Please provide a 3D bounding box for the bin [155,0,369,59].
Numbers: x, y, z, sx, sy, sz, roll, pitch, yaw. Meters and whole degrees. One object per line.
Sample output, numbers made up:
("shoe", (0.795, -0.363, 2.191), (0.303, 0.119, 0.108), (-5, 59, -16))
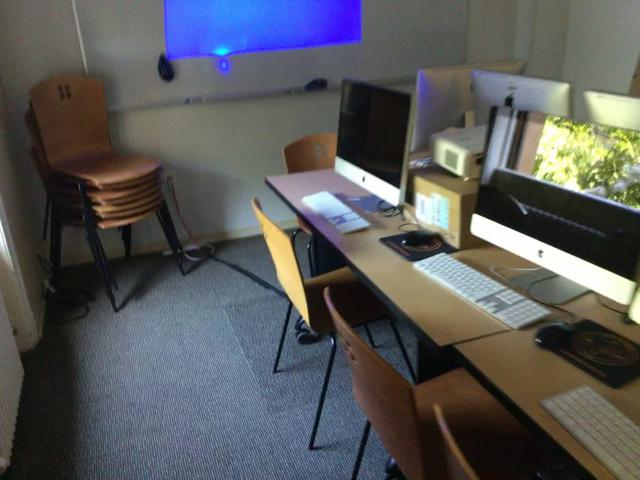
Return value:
("bin", (-0.310, -1.450, 3.220), (1.200, 0.730, 0.150), (-11, 25, -18))
